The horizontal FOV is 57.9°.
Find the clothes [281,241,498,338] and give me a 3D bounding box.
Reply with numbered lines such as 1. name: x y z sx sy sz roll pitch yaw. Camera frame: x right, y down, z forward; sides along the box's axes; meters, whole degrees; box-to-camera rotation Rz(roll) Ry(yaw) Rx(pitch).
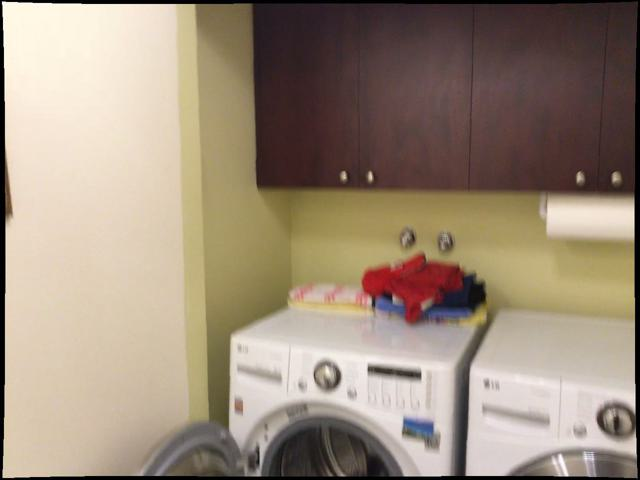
1. clothes: 0.240 0.150 2.020 0.689 0.210 0.300 4 10 24

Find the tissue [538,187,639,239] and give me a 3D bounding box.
1. tissue: 0.879 -0.090 1.830 0.340 0.140 0.140 4 10 24

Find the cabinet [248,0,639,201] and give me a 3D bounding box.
1. cabinet: 0.499 -0.541 1.840 1.599 0.791 0.140 4 10 24
